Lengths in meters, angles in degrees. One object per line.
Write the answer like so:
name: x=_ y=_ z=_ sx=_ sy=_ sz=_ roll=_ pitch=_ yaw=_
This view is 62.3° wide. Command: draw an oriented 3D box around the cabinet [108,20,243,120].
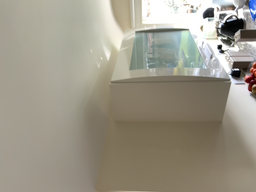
cabinet: x=0.310 y=-0.280 z=1.740 sx=1.000 sy=0.770 sz=0.360 roll=-83 pitch=-9 yaw=-54
